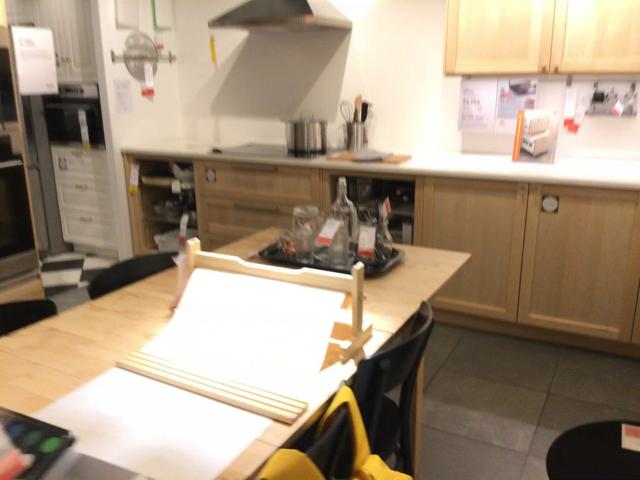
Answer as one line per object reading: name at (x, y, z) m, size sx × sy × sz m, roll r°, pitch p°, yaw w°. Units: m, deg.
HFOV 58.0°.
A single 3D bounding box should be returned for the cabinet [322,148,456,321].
cabinet at (0.420, -0.070, 3.460) m, size 0.600 × 0.860 × 0.570 m, roll 7°, pitch 19°, yaw 28°
